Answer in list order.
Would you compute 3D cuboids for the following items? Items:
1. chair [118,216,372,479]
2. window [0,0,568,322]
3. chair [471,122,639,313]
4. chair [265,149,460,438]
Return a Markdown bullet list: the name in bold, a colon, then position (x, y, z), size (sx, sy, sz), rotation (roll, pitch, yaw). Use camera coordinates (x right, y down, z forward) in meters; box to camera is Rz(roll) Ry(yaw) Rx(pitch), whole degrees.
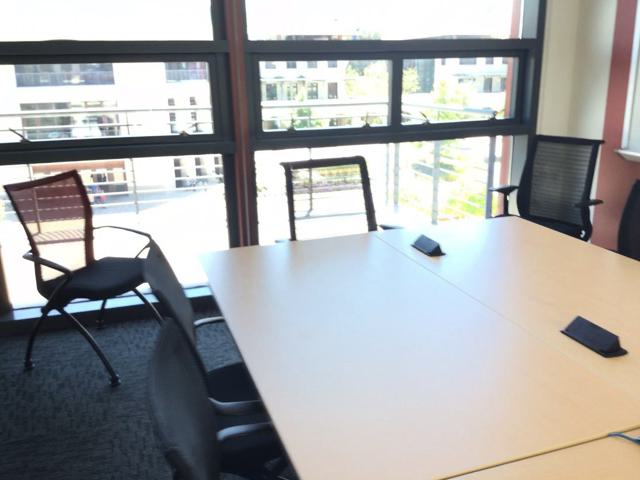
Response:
- **chair**: position (-0.230, 0.450, 1.720), size (0.560, 0.860, 0.580), rotation (-9, 19, -19)
- **window**: position (-0.080, -1.040, 3.380), size (3.200, 2.790, 0.210), rotation (-6, 18, -10)
- **chair**: position (1.420, -0.190, 3.480), size (0.690, 0.920, 0.690), rotation (-16, 22, -35)
- **chair**: position (0.170, 0.170, 2.570), size (0.590, 1.000, 0.740), rotation (-9, 18, -15)
